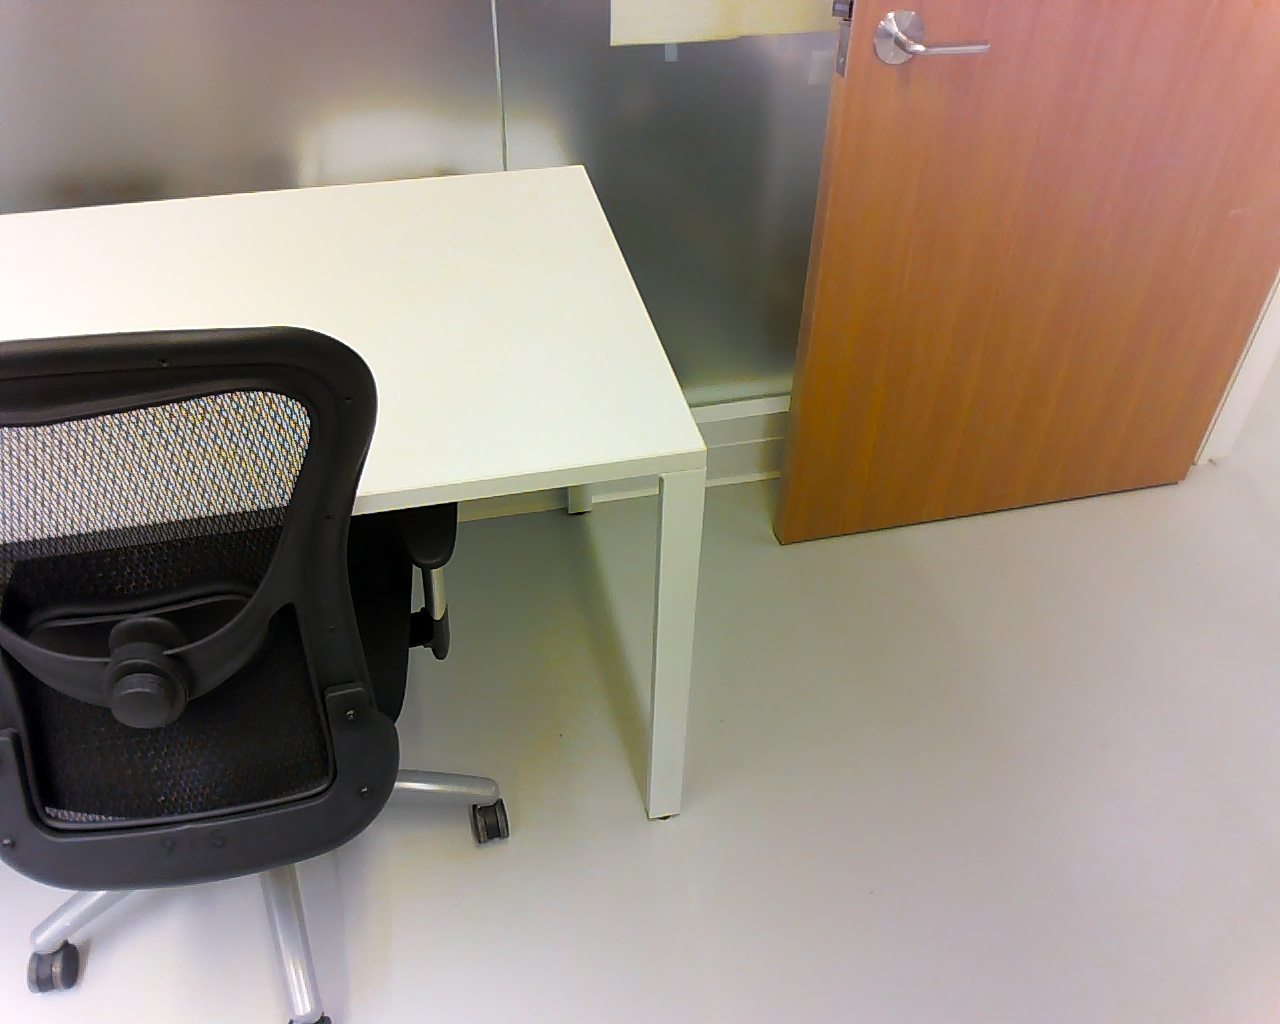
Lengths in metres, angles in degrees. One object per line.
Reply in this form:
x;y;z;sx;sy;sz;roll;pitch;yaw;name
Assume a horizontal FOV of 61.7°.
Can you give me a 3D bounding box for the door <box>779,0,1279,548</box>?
0.760;-0.840;1.470;0.970;2.230;0.040;-8;43;-9;door
